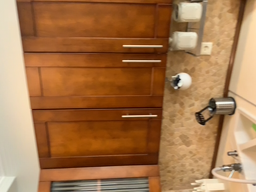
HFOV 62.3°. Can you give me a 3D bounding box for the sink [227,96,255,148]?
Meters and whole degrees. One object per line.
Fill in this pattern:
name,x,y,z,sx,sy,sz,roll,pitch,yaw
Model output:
sink,0.780,0.170,1.330,0.290,0.120,0.250,103,165,-66
